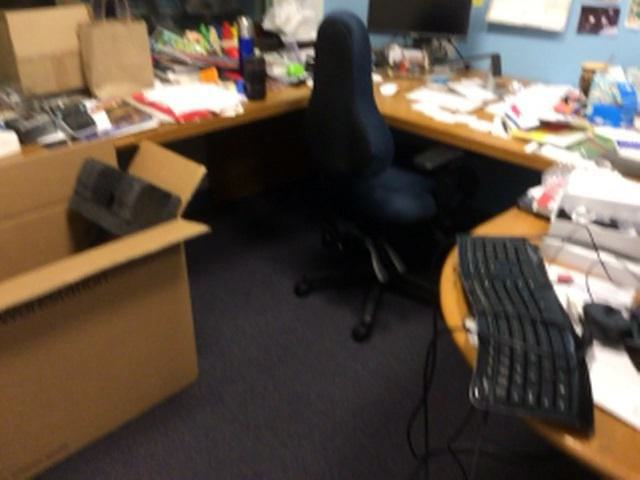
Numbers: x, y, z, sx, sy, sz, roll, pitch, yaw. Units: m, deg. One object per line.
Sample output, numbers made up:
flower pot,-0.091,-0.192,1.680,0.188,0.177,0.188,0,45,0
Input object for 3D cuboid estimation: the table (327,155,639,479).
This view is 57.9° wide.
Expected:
table,0.620,0.420,1.090,0.780,0.770,0.920,-26,37,-36

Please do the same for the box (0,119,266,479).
box,-0.660,0.190,1.530,0.850,0.740,0.510,-26,37,-36

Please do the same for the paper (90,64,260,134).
paper,-0.500,-0.500,1.990,0.390,0.080,0.440,-26,37,-36

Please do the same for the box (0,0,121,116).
box,-0.980,-0.660,1.970,0.400,0.320,0.360,-26,37,-36
